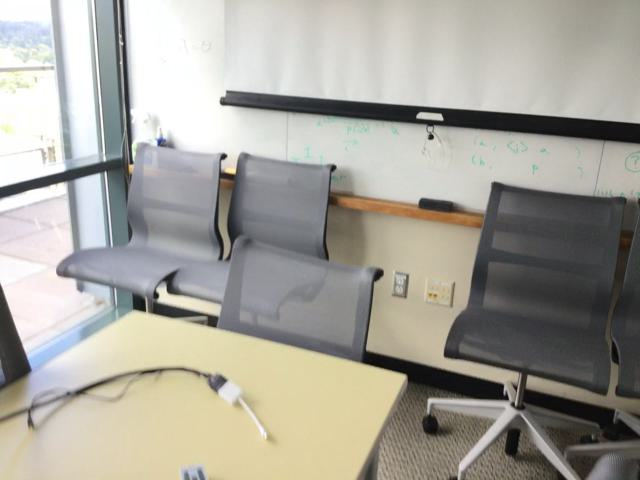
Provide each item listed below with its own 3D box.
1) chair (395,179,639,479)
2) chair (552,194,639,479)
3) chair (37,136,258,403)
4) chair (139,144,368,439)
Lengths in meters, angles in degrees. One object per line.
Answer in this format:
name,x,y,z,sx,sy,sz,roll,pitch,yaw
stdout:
chair,0.700,0.340,1.960,0.650,0.930,0.610,11,20,25
chair,1.120,0.410,1.750,0.640,0.930,0.570,11,20,25
chair,-0.700,0.070,2.560,0.580,0.930,0.690,9,19,21
chair,-0.250,0.150,2.370,0.660,0.950,0.590,11,20,25
